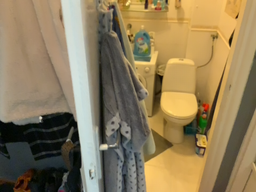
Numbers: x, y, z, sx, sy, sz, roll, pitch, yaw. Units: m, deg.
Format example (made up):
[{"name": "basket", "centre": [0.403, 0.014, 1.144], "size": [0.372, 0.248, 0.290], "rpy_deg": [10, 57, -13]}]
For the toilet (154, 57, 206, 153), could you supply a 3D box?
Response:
[{"name": "toilet", "centre": [0.510, 0.070, 2.230], "size": [0.360, 0.740, 0.640], "rpy_deg": [7, 31, 8]}]

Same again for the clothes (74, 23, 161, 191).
[{"name": "clothes", "centre": [-0.020, 0.380, 1.040], "size": [0.220, 1.340, 0.380], "rpy_deg": [2, 30, 3]}]
